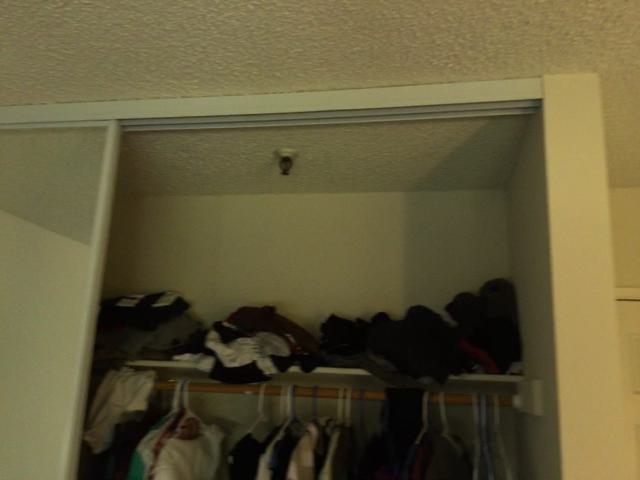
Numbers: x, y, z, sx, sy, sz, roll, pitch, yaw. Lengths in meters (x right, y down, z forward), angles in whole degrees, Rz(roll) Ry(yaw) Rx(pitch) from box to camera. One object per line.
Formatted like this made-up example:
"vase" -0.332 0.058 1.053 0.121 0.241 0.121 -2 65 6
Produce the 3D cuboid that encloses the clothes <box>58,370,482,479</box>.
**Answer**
"clothes" -0.140 1.210 1.760 1.220 1.450 0.700 0 -20 14
